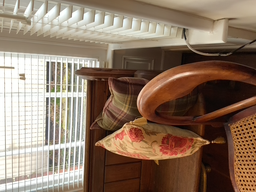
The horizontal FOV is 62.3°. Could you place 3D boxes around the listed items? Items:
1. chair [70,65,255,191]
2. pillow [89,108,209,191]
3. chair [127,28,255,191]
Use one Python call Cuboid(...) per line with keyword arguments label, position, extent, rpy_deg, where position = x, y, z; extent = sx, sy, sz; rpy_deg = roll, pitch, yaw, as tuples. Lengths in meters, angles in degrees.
Cuboid(label="chair", position=(0.150, 0.760, 1.250), extent=(0.510, 0.850, 1.800), rpy_deg=(18, 106, 58))
Cuboid(label="pillow", position=(0.070, 0.240, 1.020), extent=(0.170, 0.390, 0.420), rpy_deg=(65, 154, -1))
Cuboid(label="chair", position=(0.480, 0.150, 0.700), extent=(0.360, 0.820, 0.490), rpy_deg=(-34, 62, 55))
